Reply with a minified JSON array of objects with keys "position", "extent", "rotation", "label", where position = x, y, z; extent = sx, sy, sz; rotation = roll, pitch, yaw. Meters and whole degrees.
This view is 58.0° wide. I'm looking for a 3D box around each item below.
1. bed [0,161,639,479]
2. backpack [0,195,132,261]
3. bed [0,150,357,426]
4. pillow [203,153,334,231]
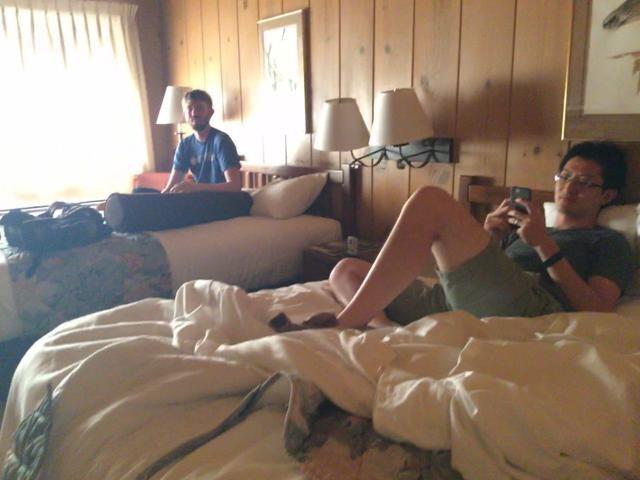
[{"position":[0.220,0.420,1.610],"extent":[2.000,1.010,1.480],"rotation":[-10,18,-37],"label":"bed"},{"position":[-1.150,-0.070,2.590],"extent":[0.460,0.160,0.420],"rotation":[-10,18,-37],"label":"backpack"},{"position":[-1.010,0.040,3.220],"extent":[1.890,0.850,1.490],"rotation":[-10,18,-36],"label":"bed"},{"position":[-0.320,-0.310,3.430],"extent":[0.460,0.330,0.700],"rotation":[-10,18,-37],"label":"pillow"}]
